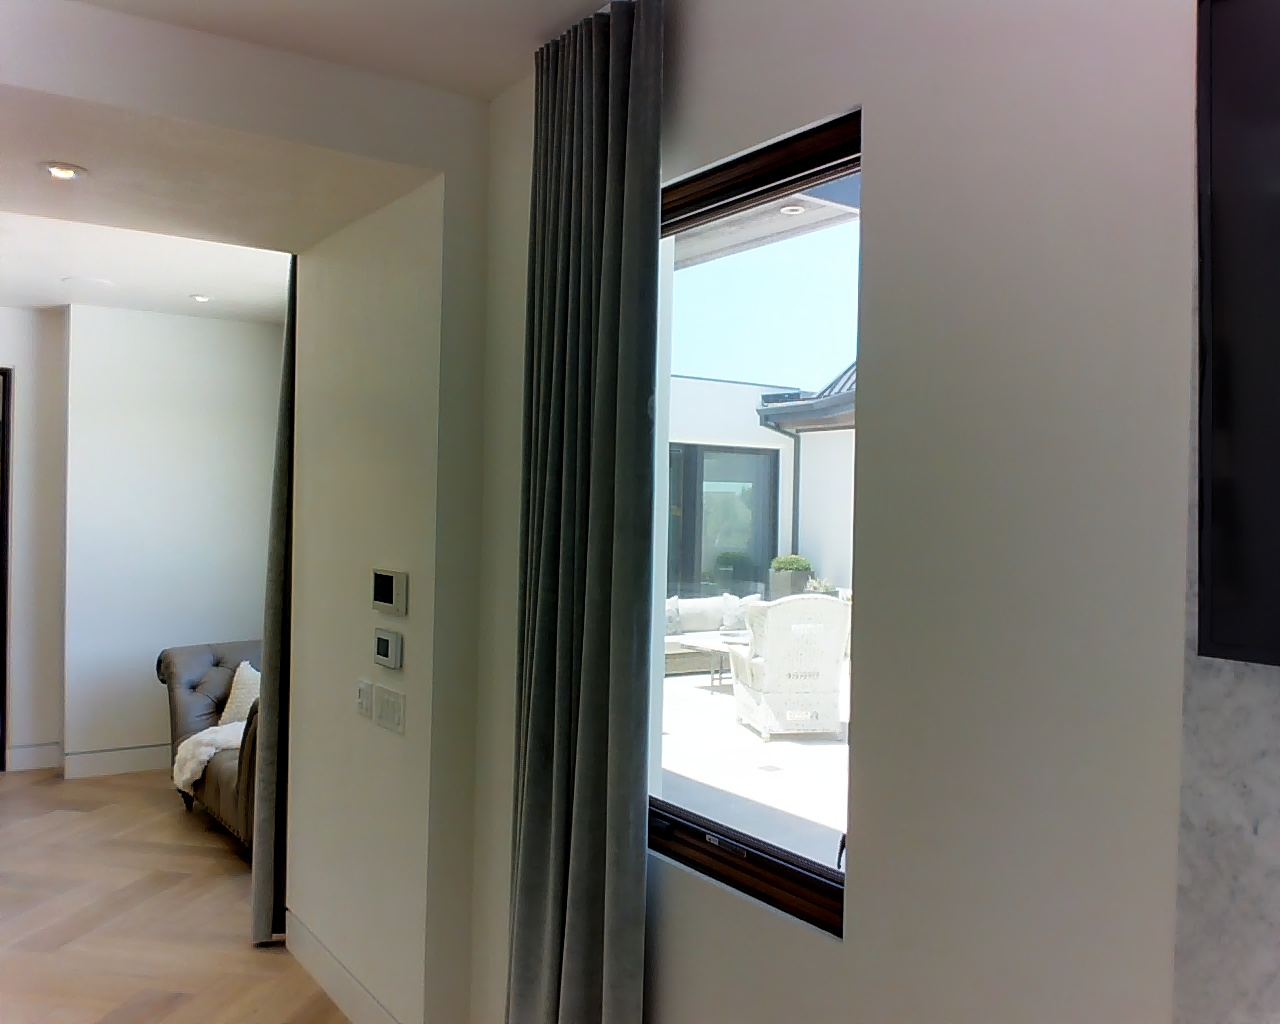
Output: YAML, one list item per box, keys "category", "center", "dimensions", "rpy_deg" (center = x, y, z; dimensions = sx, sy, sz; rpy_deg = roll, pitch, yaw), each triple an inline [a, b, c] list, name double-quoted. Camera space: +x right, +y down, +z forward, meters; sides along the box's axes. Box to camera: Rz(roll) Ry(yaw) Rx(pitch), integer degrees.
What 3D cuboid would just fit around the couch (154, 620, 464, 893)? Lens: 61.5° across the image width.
- category: "couch"
  center: [-1.790, 1.130, 5.570]
  dimensions: [0.920, 0.910, 1.980]
  rpy_deg: [1, 0, -36]
